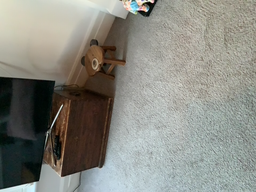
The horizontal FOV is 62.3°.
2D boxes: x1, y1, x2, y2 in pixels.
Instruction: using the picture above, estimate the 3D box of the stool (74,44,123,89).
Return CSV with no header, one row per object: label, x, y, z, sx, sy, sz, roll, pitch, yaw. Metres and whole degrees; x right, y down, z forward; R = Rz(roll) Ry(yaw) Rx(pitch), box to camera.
stool,-0.270,-0.260,1.920,0.280,0.250,0.270,49,121,33
